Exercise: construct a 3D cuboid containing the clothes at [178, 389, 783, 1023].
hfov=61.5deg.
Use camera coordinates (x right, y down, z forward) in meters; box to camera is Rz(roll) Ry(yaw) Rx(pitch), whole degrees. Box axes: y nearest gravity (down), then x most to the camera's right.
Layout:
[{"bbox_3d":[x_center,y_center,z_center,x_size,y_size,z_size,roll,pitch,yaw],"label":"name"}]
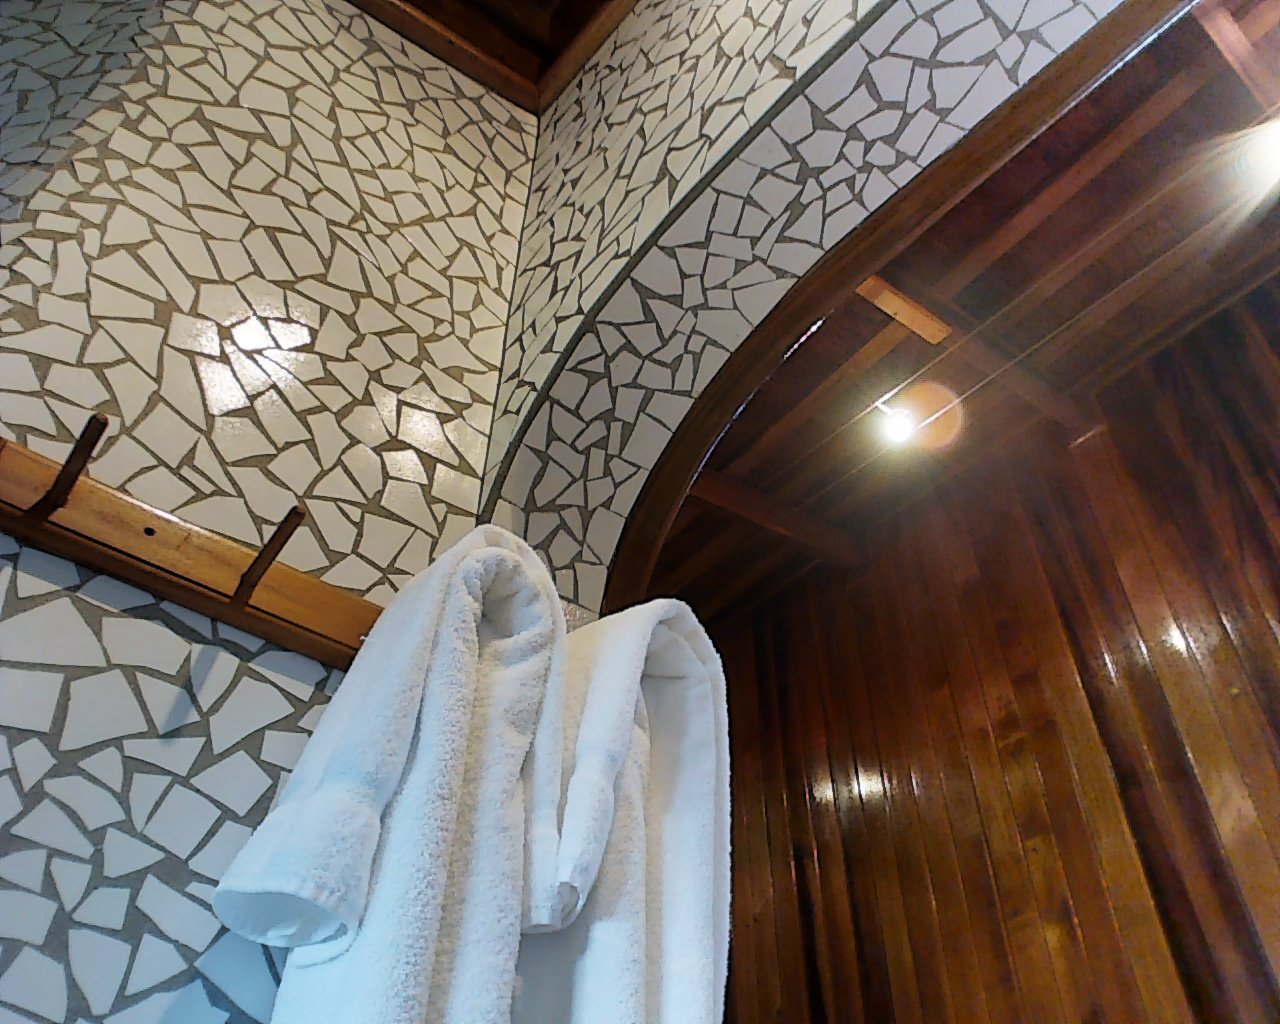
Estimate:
[{"bbox_3d":[-0.100,0.310,0.800,0.370,0.770,0.200,30,-51,-28],"label":"clothes"}]
